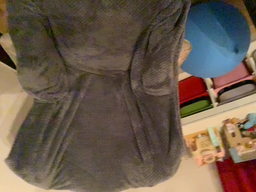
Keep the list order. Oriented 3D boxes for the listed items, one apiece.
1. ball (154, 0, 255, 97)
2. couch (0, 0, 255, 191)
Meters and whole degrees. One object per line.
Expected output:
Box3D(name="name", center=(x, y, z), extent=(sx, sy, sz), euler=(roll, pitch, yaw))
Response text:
Box3D(name="ball", center=(0.500, -0.370, 1.340), extent=(0.450, 0.470, 0.470), euler=(-21, 142, 23))
Box3D(name="couch", center=(-0.120, -0.160, 1.050), extent=(0.820, 1.050, 0.760), euler=(-2, 145, -4))
